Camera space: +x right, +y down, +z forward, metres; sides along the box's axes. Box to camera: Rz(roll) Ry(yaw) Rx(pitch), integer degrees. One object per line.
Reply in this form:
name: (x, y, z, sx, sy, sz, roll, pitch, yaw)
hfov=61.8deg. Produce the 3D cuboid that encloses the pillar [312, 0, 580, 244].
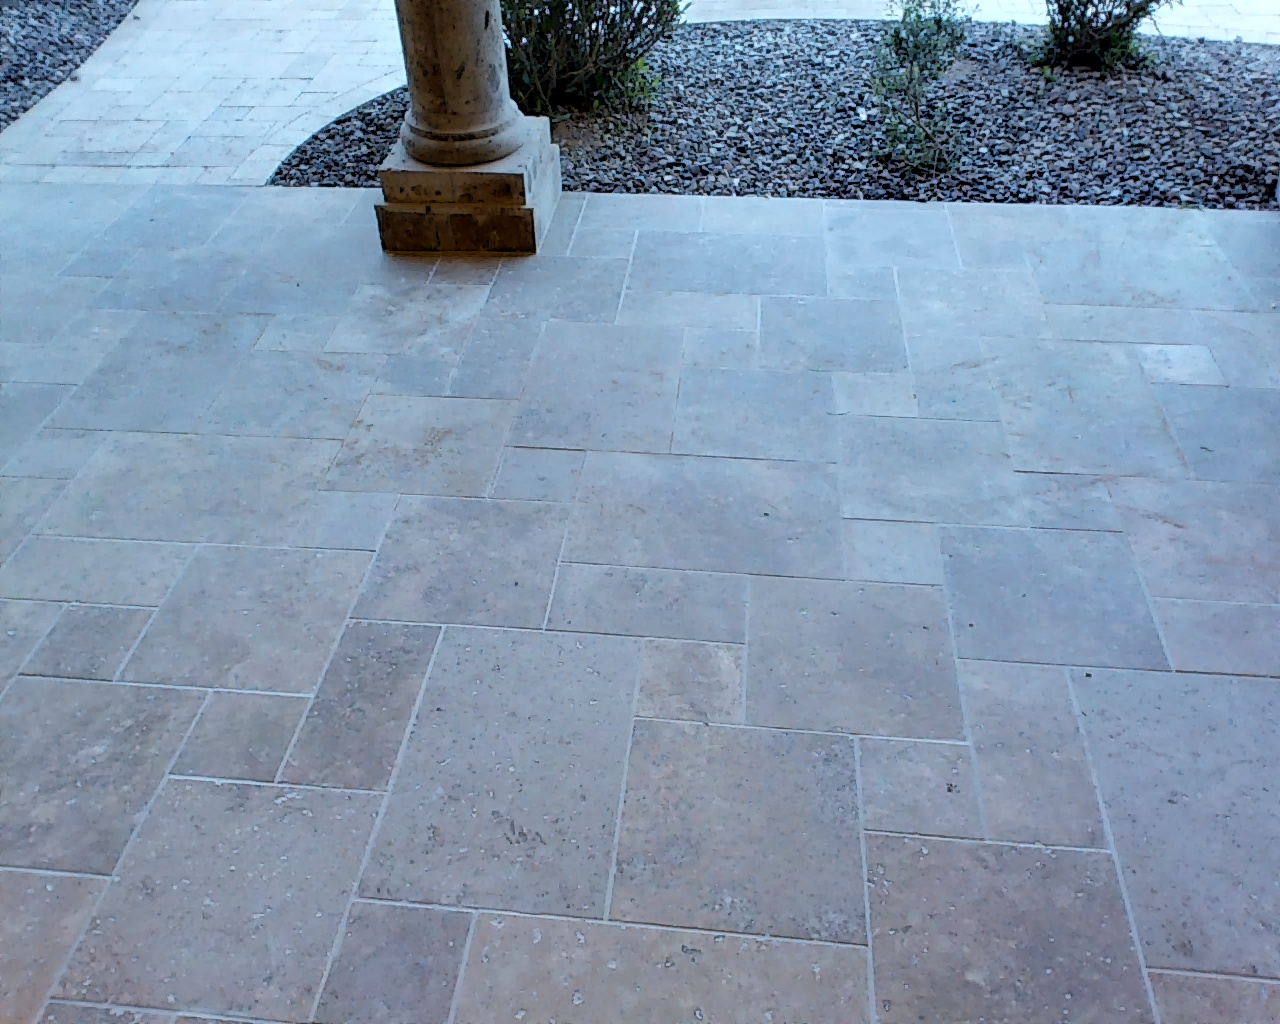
pillar: (-0.580, -1.829, 2.860, 0.620, 2.159, 0.490, 3, 41, 6)
